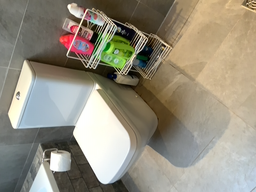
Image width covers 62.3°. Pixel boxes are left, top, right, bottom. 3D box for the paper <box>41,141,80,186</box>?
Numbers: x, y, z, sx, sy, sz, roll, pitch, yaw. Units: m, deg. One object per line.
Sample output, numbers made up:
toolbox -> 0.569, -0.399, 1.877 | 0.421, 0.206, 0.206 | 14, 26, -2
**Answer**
paper -> -0.450, 0.440, 1.400 | 0.150, 0.130, 0.230 | 48, 118, 36
